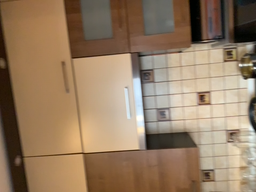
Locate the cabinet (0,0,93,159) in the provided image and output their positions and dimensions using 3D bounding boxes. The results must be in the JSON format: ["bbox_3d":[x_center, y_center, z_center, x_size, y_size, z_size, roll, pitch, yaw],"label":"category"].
[{"bbox_3d":[-0.540,-0.190,1.460,0.380,0.410,1.110,-58,-36,-83],"label":"cabinet"}]

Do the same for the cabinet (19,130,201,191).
[{"bbox_3d":[-0.090,0.770,1.540,0.340,1.140,0.900,-58,-36,-83],"label":"cabinet"}]
